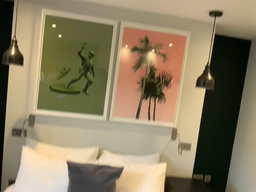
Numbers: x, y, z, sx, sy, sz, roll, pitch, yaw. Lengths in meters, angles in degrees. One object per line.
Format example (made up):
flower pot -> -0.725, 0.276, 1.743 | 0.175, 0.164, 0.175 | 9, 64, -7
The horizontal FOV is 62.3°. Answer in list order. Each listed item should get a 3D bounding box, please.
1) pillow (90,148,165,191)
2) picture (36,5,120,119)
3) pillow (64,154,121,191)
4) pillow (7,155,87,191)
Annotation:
pillow -> 0.000, 0.770, 2.130 | 0.710, 0.400, 0.170 | 8, -31, -12
picture -> -0.510, -0.320, 2.170 | 0.720, 1.050, 0.100 | 7, 6, -7
pillow -> -0.290, 0.760, 1.720 | 0.370, 0.440, 0.260 | 8, 6, 7
pillow -> -0.690, 0.750, 1.840 | 0.600, 0.400, 0.160 | 4, -12, 1
